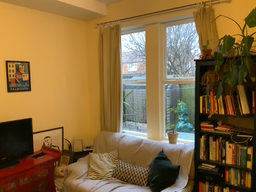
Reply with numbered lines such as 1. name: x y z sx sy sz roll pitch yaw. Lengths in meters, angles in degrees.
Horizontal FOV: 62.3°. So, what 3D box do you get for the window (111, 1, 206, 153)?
1. window: 0.440 -0.260 3.380 1.440 2.000 0.400 2 6 35
